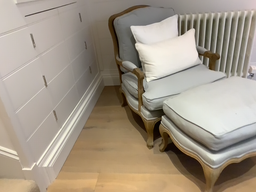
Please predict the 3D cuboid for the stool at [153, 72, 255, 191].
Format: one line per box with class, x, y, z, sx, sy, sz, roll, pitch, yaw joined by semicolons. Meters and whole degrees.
stool;0.620;0.210;1.460;0.730;0.460;0.500;-17;31;-20
